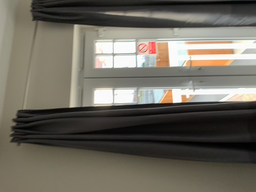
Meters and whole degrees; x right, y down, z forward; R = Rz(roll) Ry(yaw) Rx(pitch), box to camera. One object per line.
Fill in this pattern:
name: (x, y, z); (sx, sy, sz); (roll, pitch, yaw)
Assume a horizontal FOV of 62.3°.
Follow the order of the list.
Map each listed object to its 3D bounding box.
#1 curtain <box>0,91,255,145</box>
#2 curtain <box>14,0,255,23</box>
curtain: (0.380, 0.160, 1.530); (0.260, 2.420, 0.310); (93, 176, -74)
curtain: (0.340, -0.890, 1.860); (0.200, 2.520, 0.400); (94, 175, -78)
